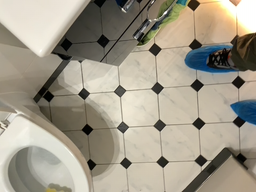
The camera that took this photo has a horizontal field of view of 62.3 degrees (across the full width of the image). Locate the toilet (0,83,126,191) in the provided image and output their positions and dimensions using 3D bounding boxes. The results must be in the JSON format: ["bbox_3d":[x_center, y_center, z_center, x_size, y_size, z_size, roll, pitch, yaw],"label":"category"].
[{"bbox_3d":[-0.370,0.280,0.760,0.520,0.860,0.380,39,98,0],"label":"toilet"}]
